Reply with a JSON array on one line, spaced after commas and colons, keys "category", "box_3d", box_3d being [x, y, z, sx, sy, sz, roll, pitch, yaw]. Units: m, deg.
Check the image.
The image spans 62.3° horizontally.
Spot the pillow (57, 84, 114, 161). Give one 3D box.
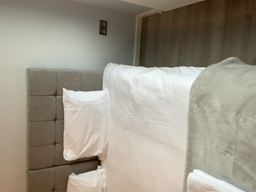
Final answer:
[{"category": "pillow", "box_3d": [-0.410, 0.260, 2.050, 0.130, 0.470, 0.700, -144, 60, -76]}]
